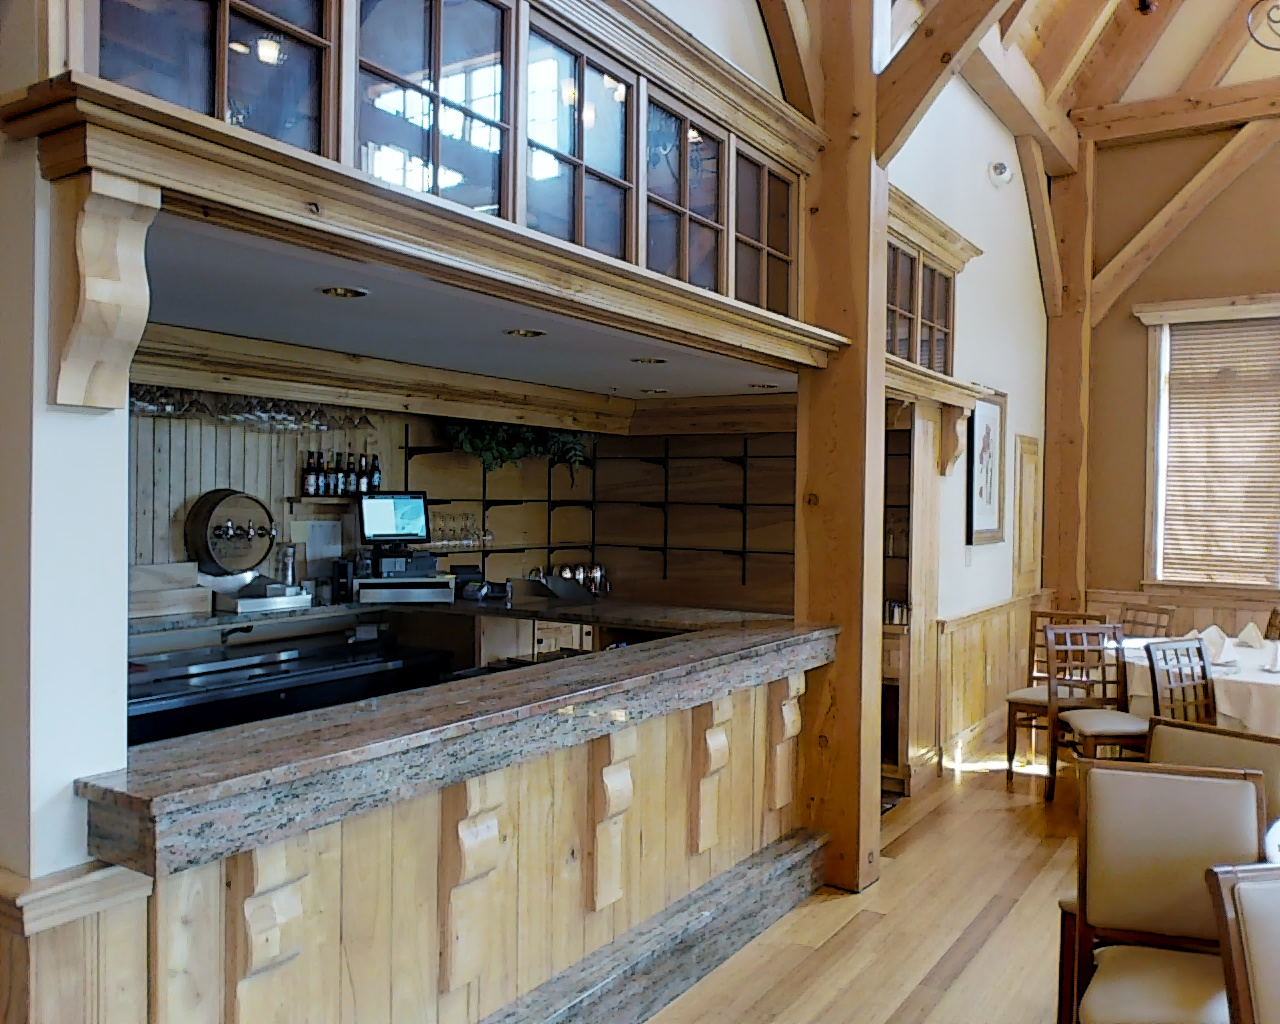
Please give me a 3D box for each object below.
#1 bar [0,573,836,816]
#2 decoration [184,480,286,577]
[{"bbox_3d":[-0.860,0.420,3.720,1.970,0.140,3.240,1,1,32],"label":"bar"},{"bbox_3d":[-1.830,0.070,4.860,0.160,0.420,0.420,1,1,32],"label":"decoration"}]
